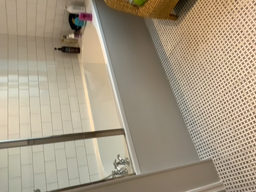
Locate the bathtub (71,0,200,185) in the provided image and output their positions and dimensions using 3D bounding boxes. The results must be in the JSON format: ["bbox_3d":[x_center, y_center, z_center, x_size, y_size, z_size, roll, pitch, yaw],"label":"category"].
[{"bbox_3d":[-0.090,-0.190,2.260,0.800,0.620,1.920,-51,48,52],"label":"bathtub"}]
